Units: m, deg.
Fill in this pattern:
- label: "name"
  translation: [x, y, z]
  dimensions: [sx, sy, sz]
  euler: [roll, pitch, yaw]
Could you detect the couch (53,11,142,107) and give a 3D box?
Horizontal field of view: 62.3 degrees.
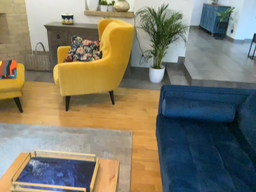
- label: "couch"
  translation: [-0.460, -0.550, 2.940]
  dimensions: [0.990, 1.050, 0.850]
  euler: [-4, 27, -16]
